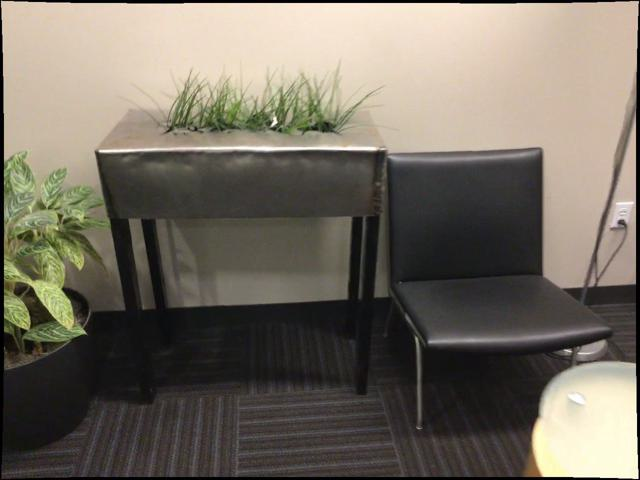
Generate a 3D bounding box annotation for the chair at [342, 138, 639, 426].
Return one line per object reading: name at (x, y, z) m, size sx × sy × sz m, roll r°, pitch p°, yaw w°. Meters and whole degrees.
chair at (0.479, 0.110, 1.950) m, size 0.738 × 0.691 × 0.680 m, roll -1°, pitch 31°, yaw -3°

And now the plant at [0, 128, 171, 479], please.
plant at (-0.988, 0.180, 1.800) m, size 0.798 × 0.801 × 0.821 m, roll -1°, pitch 31°, yaw -3°
